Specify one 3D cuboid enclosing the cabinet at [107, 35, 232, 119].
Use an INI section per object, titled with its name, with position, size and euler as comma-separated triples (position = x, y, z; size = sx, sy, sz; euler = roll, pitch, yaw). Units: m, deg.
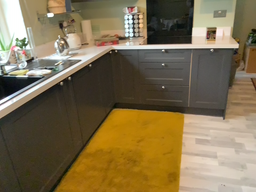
[cabinet]
position = 0.510, -0.300, 2.790
size = 1.340, 0.860, 0.680
euler = 3, 25, 14
